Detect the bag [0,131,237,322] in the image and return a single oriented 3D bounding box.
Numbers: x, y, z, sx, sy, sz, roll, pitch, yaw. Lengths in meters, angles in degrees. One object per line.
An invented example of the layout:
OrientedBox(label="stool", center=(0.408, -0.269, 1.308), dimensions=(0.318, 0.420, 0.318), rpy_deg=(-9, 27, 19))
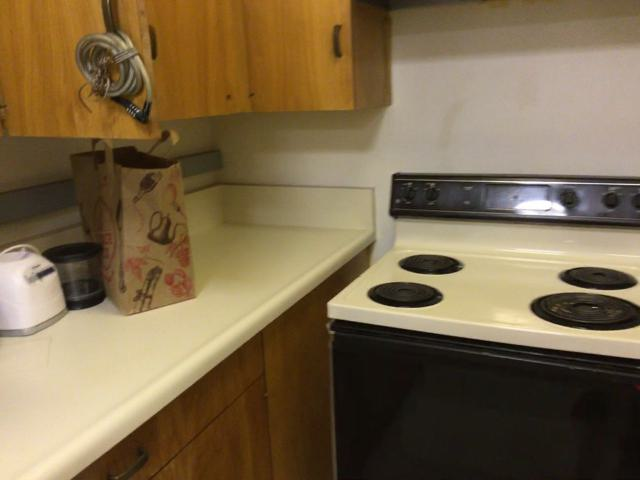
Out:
OrientedBox(label="bag", center=(-0.510, -0.060, 1.500), dimensions=(0.460, 0.410, 0.310), rpy_deg=(3, 15, 23))

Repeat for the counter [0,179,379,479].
OrientedBox(label="counter", center=(-0.650, 0.250, 0.980), dimensions=(0.690, 0.320, 2.720), rpy_deg=(3, 15, 23))

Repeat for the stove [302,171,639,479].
OrientedBox(label="stove", center=(0.530, 0.430, 1.590), dimensions=(0.850, 1.140, 0.770), rpy_deg=(3, 15, 24))

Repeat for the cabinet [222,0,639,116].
OrientedBox(label="cabinet", center=(0.360, -0.860, 1.560), dimensions=(1.270, 0.970, 0.370), rpy_deg=(3, 15, 24))
